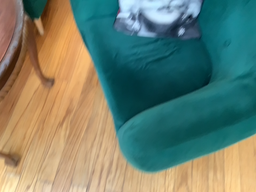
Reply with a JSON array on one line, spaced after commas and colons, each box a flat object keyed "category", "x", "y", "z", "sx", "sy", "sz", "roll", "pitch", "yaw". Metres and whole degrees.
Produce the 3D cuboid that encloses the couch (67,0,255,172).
[{"category": "couch", "x": 0.200, "y": -0.290, "z": 1.050, "sx": 0.830, "sy": 0.820, "sz": 0.970, "roll": -16, "pitch": 67, "yaw": -11}]
